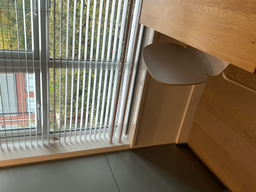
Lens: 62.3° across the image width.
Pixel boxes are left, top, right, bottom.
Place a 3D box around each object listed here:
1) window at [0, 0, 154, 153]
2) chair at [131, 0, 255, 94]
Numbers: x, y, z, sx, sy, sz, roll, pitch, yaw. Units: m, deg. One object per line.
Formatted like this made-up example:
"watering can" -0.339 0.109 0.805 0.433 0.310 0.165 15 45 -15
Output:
"window" -0.570 -0.530 1.480 0.090 1.570 2.170 -130 43 -55
"chair" 0.520 -0.360 1.360 0.490 0.790 0.460 -114 32 -41
